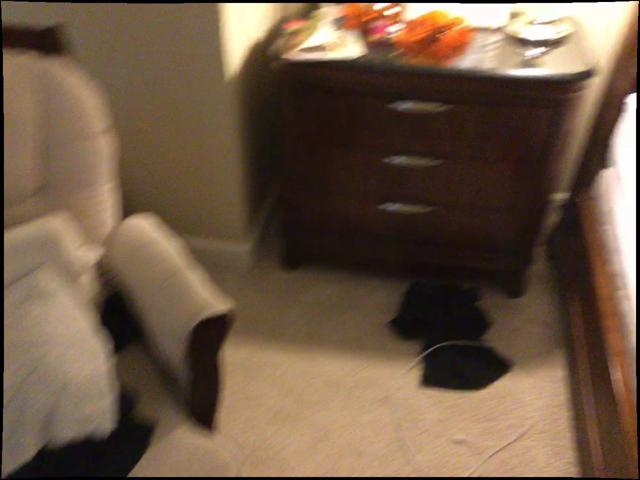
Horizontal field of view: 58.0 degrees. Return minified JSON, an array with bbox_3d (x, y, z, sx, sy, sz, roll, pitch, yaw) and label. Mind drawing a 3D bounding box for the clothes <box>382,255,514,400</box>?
[{"bbox_3d":[0.379,0.241,1.710,0.339,0.100,0.410,7,42,8],"label":"clothes"}]
